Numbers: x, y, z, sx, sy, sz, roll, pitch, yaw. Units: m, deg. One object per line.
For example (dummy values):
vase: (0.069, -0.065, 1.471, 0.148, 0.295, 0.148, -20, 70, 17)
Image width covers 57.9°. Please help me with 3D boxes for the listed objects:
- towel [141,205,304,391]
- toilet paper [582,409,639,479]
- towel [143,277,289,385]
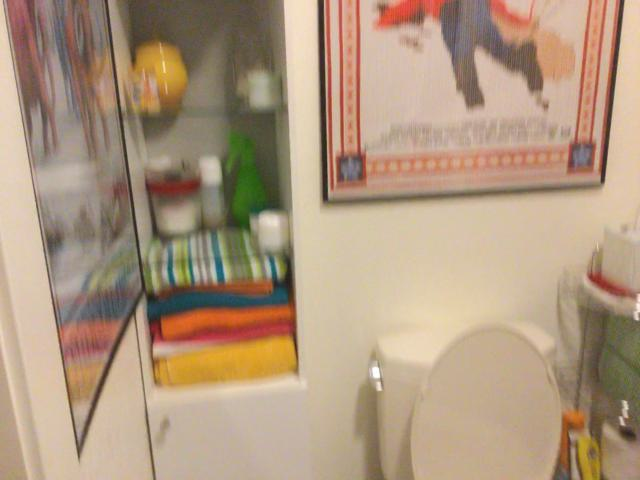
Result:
towel: (-0.180, 0.100, 1.150, 0.280, 0.300, 0.240, -1, 13, -6)
toilet paper: (0.780, 0.550, 1.470, 0.140, 0.180, 0.140, -1, 13, -6)
towel: (-0.190, 0.170, 1.090, 0.260, 0.190, 0.050, -1, 13, -6)
